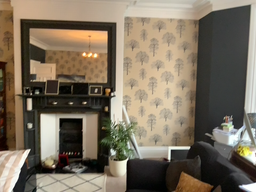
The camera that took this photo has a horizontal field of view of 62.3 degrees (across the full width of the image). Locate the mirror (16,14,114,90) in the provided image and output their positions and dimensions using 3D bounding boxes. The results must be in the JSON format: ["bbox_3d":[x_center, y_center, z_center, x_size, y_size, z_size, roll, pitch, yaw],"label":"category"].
[{"bbox_3d":[-1.090,-0.750,3.780,1.650,1.260,0.160,1,5,-6],"label":"mirror"}]

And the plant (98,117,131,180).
[{"bbox_3d":[-0.230,0.830,3.580,0.490,0.810,0.810,1,5,-4],"label":"plant"}]
